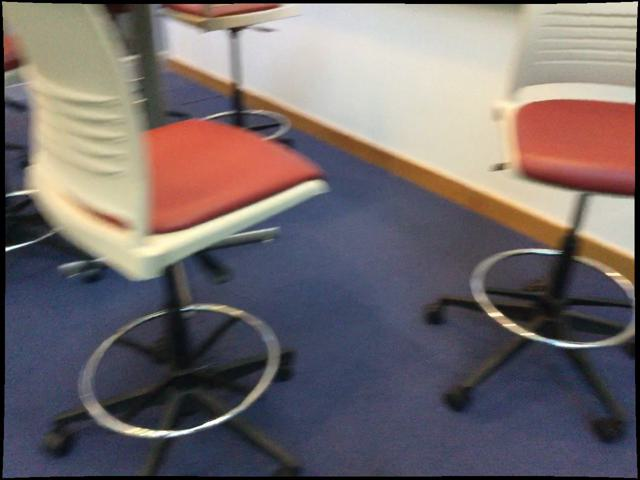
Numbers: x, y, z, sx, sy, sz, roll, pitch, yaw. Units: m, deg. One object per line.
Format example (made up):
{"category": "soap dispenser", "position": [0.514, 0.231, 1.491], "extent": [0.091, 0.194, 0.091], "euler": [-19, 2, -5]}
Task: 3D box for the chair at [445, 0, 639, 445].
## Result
{"category": "chair", "position": [0.679, -0.130, 1.490], "extent": [0.539, 1.121, 0.610], "euler": [8, 33, 12]}
